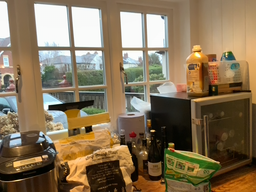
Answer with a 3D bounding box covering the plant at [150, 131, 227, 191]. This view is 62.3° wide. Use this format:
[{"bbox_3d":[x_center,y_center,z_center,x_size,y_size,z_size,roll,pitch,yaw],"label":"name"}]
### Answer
[{"bbox_3d":[0.320,0.360,1.140,0.280,0.240,0.280,-7,8,-30],"label":"plant"}]
